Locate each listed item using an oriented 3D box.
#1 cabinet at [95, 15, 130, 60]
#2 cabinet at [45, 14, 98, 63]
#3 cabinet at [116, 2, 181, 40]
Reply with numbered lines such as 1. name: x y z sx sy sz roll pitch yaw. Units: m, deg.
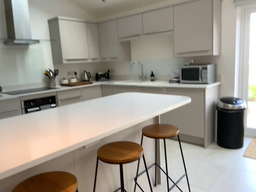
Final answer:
1. cabinet: -0.320 -1.190 4.440 0.590 0.840 0.360 5 12 39
2. cabinet: -1.100 -1.110 4.260 0.370 0.830 0.920 5 12 39
3. cabinet: 0.340 -1.310 3.850 1.150 0.460 0.370 5 12 39
